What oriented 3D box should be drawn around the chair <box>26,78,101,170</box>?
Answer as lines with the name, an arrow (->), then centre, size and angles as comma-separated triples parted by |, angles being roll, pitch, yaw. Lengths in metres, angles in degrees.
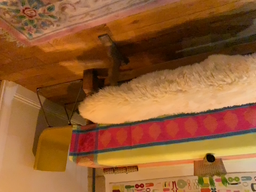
chair -> -0.610, 0.310, 2.170 | 0.510, 0.780, 0.480 | -9, 156, 14
